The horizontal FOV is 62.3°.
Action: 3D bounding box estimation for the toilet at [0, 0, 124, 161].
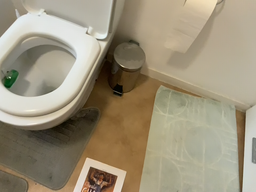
[{"bbox_3d":[-0.300,-0.220,0.810,0.370,0.870,0.670,21,61,-1],"label":"toilet"}]
